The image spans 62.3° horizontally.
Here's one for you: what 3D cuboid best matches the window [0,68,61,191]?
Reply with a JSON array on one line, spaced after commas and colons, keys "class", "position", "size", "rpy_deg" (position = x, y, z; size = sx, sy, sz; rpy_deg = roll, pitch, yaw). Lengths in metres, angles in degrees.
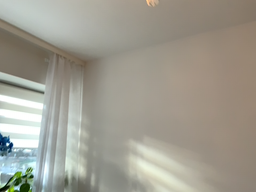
[{"class": "window", "position": [-1.150, 0.370, 1.540], "size": [0.310, 1.190, 1.340], "rpy_deg": [-6, -15, 28]}]
